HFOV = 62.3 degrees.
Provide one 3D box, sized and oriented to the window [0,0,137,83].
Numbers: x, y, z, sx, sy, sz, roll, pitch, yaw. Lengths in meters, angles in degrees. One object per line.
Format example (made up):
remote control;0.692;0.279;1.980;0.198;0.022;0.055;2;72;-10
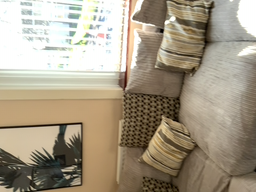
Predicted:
window;-0.760;-0.940;1.920;0.230;1.710;1.610;-135;47;-66

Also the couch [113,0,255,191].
couch;0.500;-0.060;1.730;1.220;0.820;2.940;-138;50;-66
